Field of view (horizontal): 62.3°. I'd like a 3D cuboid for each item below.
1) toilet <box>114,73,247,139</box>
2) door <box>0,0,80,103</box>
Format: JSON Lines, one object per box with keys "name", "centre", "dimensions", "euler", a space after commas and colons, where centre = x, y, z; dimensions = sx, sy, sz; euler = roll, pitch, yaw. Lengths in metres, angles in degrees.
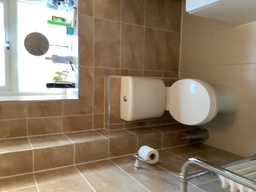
{"name": "toilet", "centre": [0.390, 0.030, 1.760], "dimensions": [0.740, 0.760, 0.390], "euler": [7, 97, 59]}
{"name": "door", "centre": [-0.930, -0.440, 1.750], "dimensions": [0.360, 0.980, 0.960], "euler": [8, 98, 59]}
